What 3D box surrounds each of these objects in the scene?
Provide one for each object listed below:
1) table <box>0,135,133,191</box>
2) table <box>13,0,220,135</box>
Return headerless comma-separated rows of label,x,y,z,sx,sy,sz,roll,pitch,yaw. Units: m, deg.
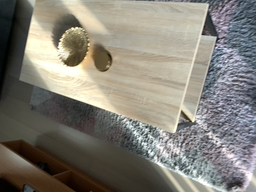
table,-0.490,0.720,1.490,1.260,0.300,0.450,17,96,28
table,-0.100,-0.220,1.240,1.040,0.450,0.520,16,95,28
